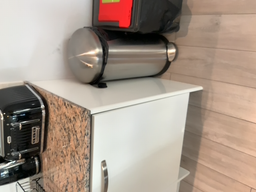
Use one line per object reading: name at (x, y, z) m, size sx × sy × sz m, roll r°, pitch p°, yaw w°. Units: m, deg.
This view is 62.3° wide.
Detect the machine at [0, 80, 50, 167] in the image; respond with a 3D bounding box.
machine at (-0.530, 0.110, 1.000) m, size 0.270 × 0.190 × 0.280 m, roll 29°, pitch 118°, yaw 38°

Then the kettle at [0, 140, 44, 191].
kettle at (-0.590, 0.370, 1.080) m, size 0.160 × 0.250 × 0.170 m, roll 19°, pitch 111°, yaw 42°

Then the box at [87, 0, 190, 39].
box at (0.080, -0.640, 1.300) m, size 0.410 × 0.480 × 0.500 m, roll 22°, pitch 113°, yaw 41°
